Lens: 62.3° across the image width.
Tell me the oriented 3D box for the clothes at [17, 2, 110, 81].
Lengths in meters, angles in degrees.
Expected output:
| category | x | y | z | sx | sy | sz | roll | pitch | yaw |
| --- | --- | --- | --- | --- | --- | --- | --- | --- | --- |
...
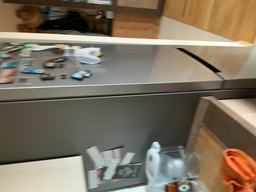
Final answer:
| category | x | y | z | sx | sy | sz | roll | pitch | yaw |
| --- | --- | --- | --- | --- | --- | --- | --- | --- | --- |
| clothes | -0.970 | -0.790 | 3.350 | 0.220 | 1.250 | 1.140 | -118 | 32 | -53 |
